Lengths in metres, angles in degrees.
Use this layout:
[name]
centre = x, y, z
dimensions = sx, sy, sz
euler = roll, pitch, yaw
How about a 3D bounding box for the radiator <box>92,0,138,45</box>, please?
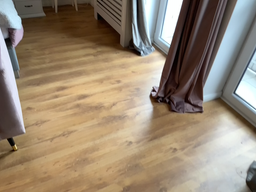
[radiator]
centre = -0.230, -1.390, 2.960
dimensions = 0.180, 0.850, 1.200
euler = -14, 44, -22
